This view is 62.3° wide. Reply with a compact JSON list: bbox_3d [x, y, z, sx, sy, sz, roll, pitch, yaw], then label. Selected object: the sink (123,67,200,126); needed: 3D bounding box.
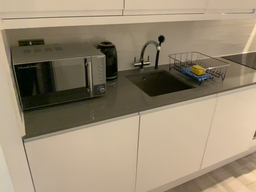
[{"bbox_3d":[0.230,-0.020,1.600,0.390,0.230,0.400,-11,30,-24],"label":"sink"}]
